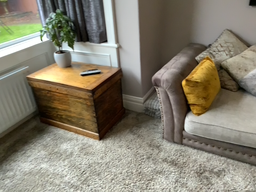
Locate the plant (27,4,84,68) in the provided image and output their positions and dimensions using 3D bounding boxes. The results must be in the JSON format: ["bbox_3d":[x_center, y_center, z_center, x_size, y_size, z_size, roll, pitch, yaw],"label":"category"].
[{"bbox_3d":[-0.760,-0.660,2.310,0.320,0.590,0.340,12,34,26],"label":"plant"}]

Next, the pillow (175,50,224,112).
[{"bbox_3d":[0.660,-0.110,1.890,0.260,0.420,0.530,13,-2,28],"label":"pillow"}]

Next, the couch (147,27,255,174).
[{"bbox_3d":[1.360,0.030,1.760,2.130,0.830,1.070,13,34,27],"label":"couch"}]
